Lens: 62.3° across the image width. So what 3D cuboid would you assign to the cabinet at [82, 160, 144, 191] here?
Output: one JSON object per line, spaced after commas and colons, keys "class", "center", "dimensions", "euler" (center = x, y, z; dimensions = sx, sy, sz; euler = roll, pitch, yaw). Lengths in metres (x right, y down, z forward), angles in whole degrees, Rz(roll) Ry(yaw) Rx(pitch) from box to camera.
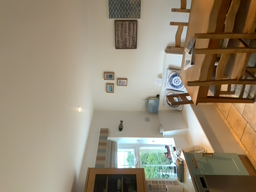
{"class": "cabinet", "center": [-0.200, 1.360, 2.760], "dimensions": [1.090, 0.790, 0.290], "euler": [-92, 4, -60]}
